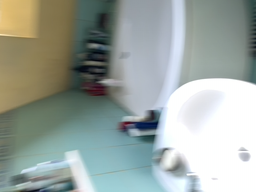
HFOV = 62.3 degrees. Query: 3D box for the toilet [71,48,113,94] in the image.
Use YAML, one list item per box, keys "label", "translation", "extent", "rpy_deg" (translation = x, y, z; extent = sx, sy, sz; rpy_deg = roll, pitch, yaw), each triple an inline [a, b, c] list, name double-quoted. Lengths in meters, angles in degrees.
- label: "toilet"
  translation: [-0.380, -0.260, 2.150]
  extent: [0.380, 0.290, 0.380]
  rpy_deg: [35, 121, 57]
